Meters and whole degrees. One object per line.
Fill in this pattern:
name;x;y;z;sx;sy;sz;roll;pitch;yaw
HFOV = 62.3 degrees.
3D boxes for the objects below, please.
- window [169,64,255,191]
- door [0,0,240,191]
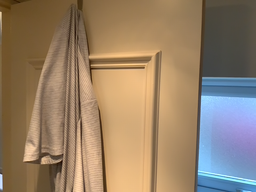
window;0.470;0.190;0.810;0.560;0.600;0.250;3;4;22
door;-0.280;0.550;0.850;1.190;2.250;0.120;4;4;31
